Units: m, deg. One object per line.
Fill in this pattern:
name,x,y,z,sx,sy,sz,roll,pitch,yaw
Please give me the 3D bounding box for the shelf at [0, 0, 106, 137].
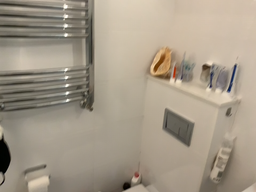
shelf,-0.410,-0.380,0.900,0.680,1.110,0.100,-12,27,-37
